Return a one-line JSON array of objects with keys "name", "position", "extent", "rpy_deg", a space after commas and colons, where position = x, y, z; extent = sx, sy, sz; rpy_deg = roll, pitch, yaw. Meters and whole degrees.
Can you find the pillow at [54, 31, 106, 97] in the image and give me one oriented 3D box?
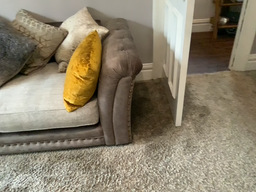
[{"name": "pillow", "position": [-0.300, -0.220, 1.490], "extent": [0.190, 0.360, 0.580], "rpy_deg": [-5, 9, 1]}]
